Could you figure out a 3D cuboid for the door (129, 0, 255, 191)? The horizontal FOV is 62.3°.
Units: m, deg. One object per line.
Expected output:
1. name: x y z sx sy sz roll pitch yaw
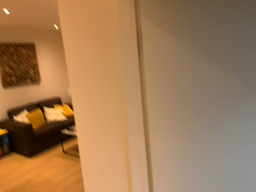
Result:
1. door: 0.380 0.550 0.800 0.730 1.940 0.050 4 14 40
